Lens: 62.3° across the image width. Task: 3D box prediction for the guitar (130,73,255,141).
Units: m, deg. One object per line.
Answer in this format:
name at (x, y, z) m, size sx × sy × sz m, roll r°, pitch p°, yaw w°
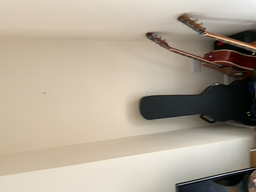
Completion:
guitar at (0.580, 0.050, 1.670) m, size 0.360 × 1.040 × 0.400 m, roll 180°, pitch 86°, yaw -72°
